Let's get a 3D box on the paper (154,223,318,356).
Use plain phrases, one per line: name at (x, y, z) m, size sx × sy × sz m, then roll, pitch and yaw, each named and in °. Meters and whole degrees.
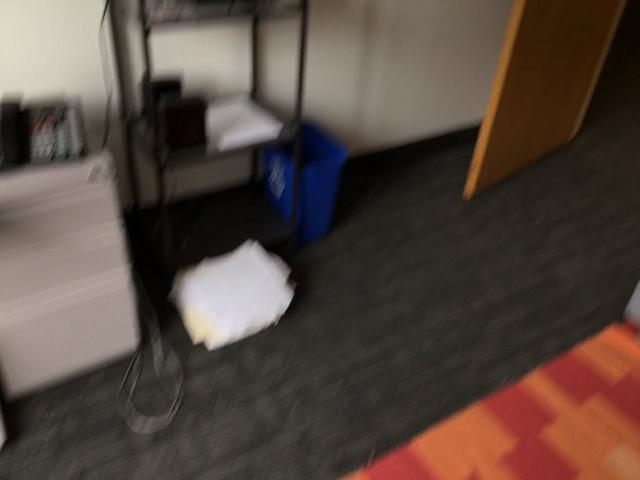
paper at (-0.290, 0.150, 1.980) m, size 0.430 × 0.160 × 0.360 m, roll -17°, pitch 40°, yaw -28°
